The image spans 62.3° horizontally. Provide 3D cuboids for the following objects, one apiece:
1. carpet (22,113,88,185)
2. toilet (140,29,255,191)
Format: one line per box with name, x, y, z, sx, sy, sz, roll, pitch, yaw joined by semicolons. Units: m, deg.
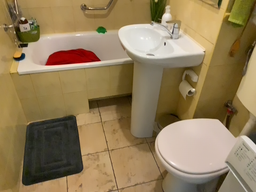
carpet;-0.580;0.370;1.650;0.430;0.040;0.550;-11;40;-16
toilet;0.450;0.200;1.150;0.620;0.970;0.380;-9;40;-13
